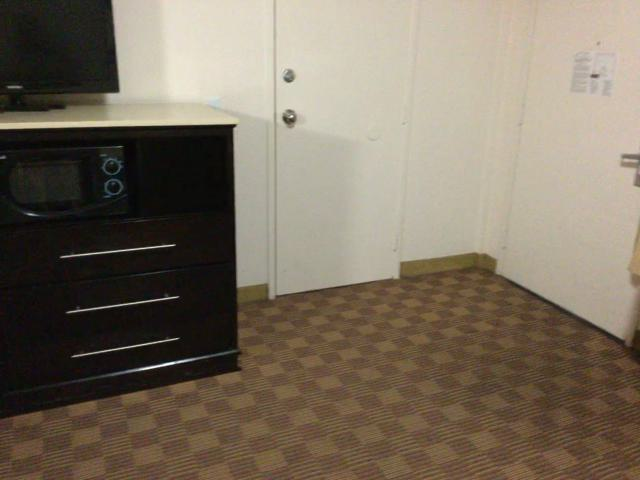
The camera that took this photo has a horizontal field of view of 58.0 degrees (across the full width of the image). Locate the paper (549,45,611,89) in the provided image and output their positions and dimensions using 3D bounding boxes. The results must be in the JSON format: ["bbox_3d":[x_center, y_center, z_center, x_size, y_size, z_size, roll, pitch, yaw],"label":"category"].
[{"bbox_3d":[1.240,-0.830,2.770,0.070,0.190,0.270,-6,18,-24],"label":"paper"}]

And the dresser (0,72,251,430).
[{"bbox_3d":[-1.120,-0.010,2.250,1.560,1.220,0.660,-6,18,-24],"label":"dresser"}]

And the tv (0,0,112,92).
[{"bbox_3d":[-1.180,-0.800,2.170,0.710,0.460,0.150,-6,18,-24],"label":"tv"}]
